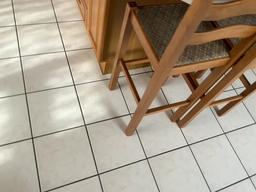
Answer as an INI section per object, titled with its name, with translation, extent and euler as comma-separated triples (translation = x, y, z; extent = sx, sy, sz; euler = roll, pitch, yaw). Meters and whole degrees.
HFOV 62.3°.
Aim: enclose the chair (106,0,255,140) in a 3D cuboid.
[chair]
translation = 0.180, -0.170, 1.070
extent = 0.370, 0.990, 0.390
euler = -12, 64, -20
